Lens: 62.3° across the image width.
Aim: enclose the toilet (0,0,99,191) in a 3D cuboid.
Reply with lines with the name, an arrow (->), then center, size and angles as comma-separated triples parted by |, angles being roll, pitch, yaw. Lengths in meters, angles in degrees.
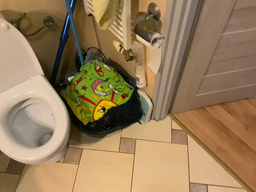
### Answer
toilet -> -0.540, 0.040, 1.080 | 0.370, 0.820, 0.650 | -35, 61, -21
